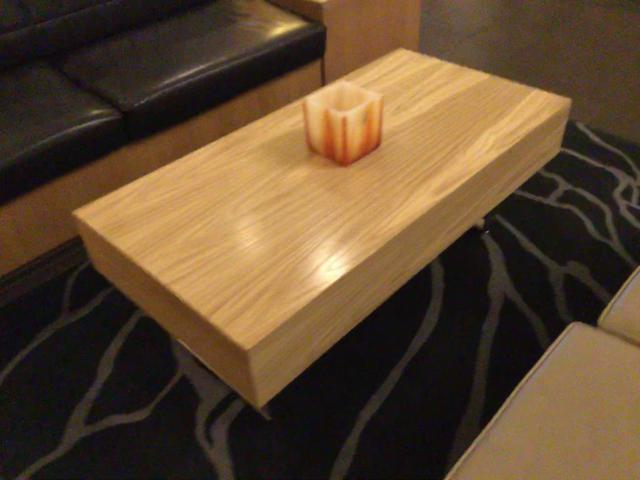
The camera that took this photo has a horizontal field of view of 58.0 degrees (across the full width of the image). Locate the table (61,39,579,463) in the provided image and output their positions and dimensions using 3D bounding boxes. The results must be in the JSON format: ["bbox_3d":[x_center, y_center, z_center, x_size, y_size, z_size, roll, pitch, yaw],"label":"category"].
[{"bbox_3d":[0.080,-0.120,1.580,0.660,0.340,1.240,28,49,33],"label":"table"}]

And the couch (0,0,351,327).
[{"bbox_3d":[-0.790,-0.560,1.910,0.700,0.930,1.900,28,49,33],"label":"couch"}]
